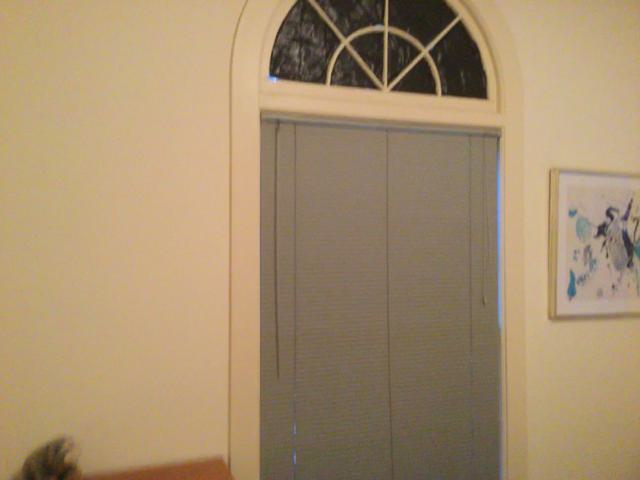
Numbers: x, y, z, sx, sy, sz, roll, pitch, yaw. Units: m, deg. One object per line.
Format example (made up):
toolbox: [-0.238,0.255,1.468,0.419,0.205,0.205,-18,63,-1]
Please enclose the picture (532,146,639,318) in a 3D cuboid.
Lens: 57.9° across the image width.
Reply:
picture: [1.470,-0.040,2.800,0.970,0.780,0.070,0,-2,-18]
